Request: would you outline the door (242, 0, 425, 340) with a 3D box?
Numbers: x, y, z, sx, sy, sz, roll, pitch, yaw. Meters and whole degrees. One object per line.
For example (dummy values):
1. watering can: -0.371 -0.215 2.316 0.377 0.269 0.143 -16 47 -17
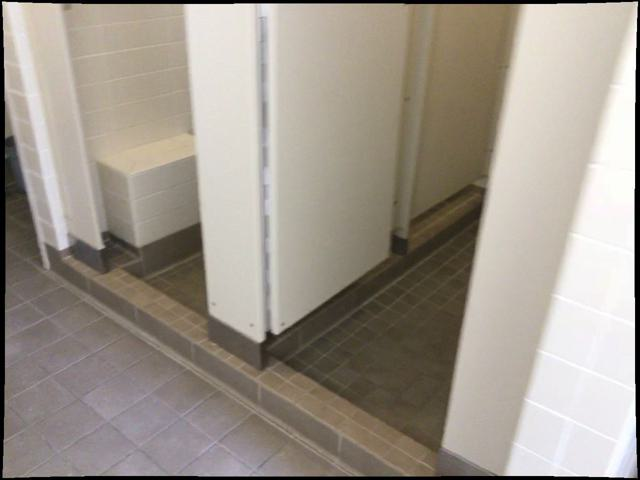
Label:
1. door: 0.070 -0.370 1.630 0.060 1.221 0.660 23 37 35
